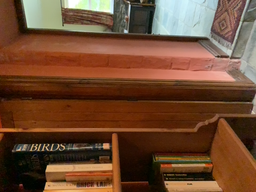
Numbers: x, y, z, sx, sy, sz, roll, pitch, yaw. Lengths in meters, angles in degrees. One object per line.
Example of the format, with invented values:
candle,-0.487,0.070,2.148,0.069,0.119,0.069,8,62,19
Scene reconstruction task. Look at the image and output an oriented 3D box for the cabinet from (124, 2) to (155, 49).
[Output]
cabinet,0.250,-1.680,5.060,0.550,0.570,0.930,-101,14,-58
